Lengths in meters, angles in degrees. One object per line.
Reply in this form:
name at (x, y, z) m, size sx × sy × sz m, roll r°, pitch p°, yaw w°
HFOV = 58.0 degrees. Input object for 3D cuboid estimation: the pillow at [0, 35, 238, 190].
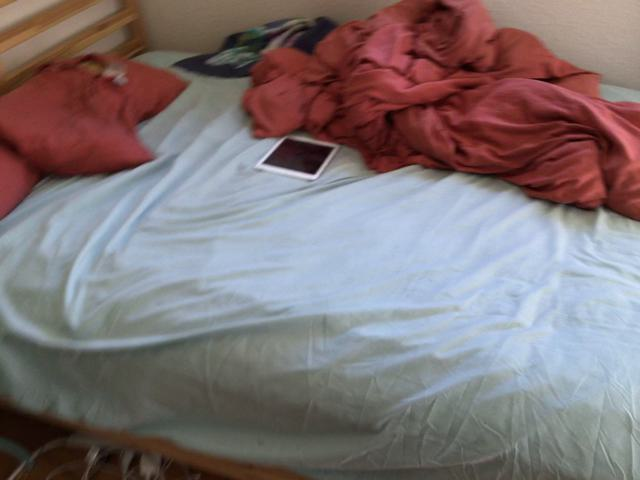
pillow at (-0.650, -0.420, 1.730) m, size 0.550 × 0.180 × 0.660 m, roll 8°, pitch 37°, yaw 18°

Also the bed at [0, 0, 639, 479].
bed at (-0.050, -0.160, 1.590) m, size 2.040 × 1.060 × 1.520 m, roll 8°, pitch 37°, yaw 18°
